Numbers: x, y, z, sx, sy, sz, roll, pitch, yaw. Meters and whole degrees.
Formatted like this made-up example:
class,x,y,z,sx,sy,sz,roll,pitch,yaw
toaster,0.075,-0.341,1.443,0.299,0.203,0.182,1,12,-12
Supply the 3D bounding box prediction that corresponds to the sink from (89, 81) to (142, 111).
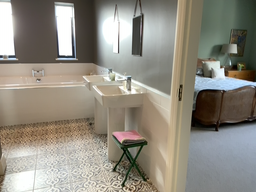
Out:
class,x,y,z,sx,sy,sz,roll,pitch,yaw
sink,-0.160,-0.020,2.310,0.440,0.180,0.550,-4,15,-20
